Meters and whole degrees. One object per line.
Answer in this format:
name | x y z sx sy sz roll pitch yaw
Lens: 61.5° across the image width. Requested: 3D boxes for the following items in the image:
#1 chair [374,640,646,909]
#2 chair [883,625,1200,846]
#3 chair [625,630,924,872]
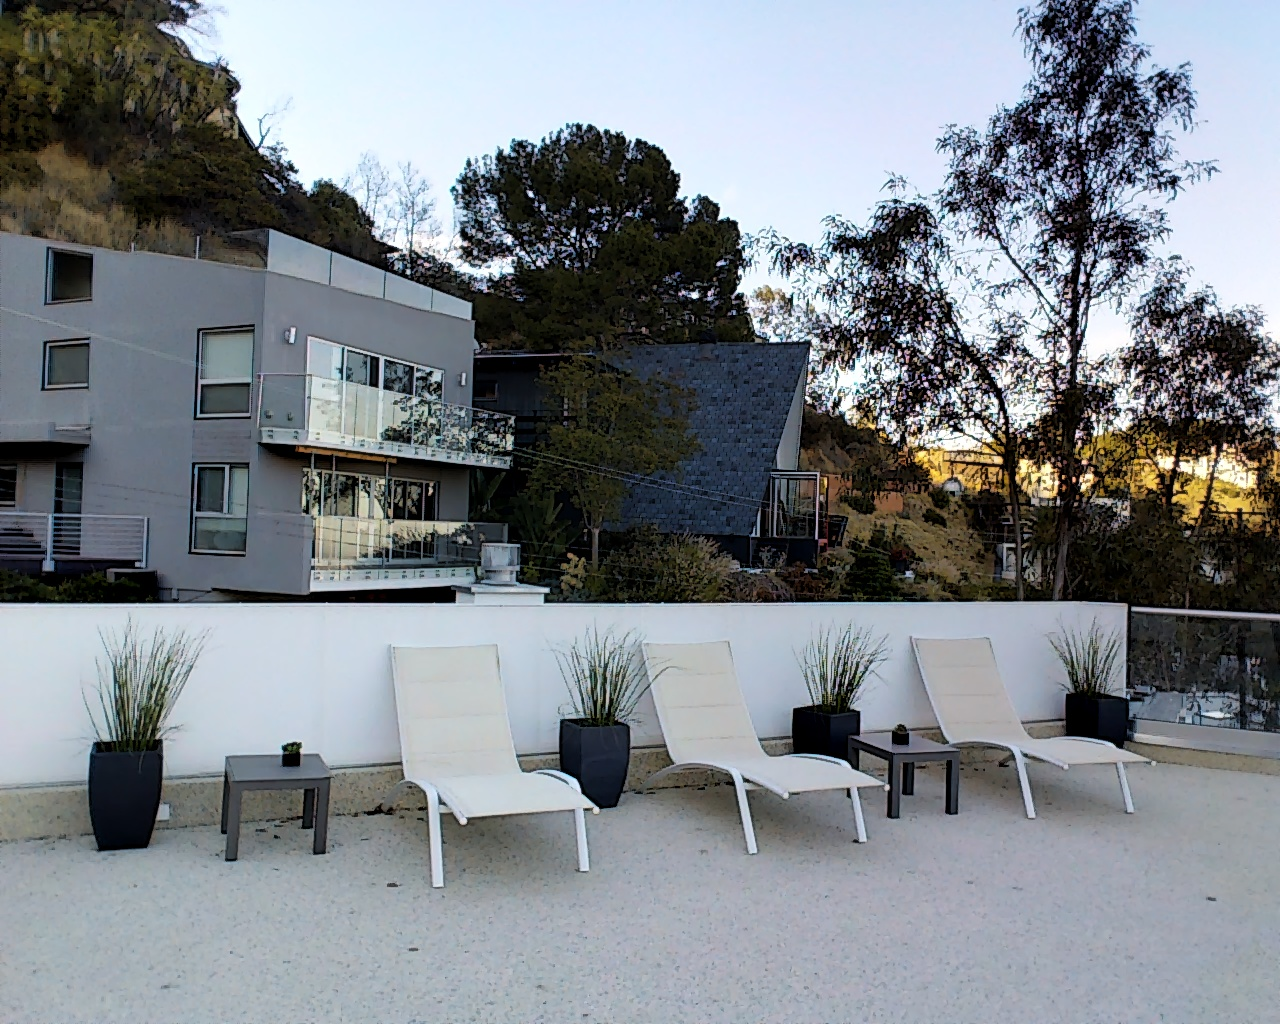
chair | -0.710 1.170 5.270 0.820 0.900 1.660 3 -1 -25
chair | 2.400 1.300 6.700 0.860 0.970 1.770 3 0 -20
chair | 0.650 1.200 5.900 0.770 0.930 1.790 3 -1 -25
